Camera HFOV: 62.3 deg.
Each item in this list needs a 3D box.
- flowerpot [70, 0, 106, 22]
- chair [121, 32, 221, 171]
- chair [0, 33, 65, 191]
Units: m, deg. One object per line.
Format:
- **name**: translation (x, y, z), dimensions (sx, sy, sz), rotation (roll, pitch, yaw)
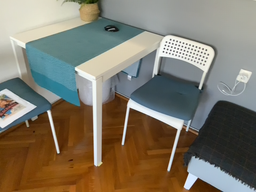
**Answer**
- **flowerpot**: translation (-0.320, -0.780, 1.700), dimensions (0.190, 0.280, 0.220), rotation (27, 41, 26)
- **chair**: translation (0.280, 0.030, 1.530), dimensions (0.420, 0.770, 0.490), rotation (23, 39, 22)
- **chair**: translation (-0.750, 0.110, 1.270), dimensions (0.430, 0.760, 0.490), rotation (29, 42, 27)
